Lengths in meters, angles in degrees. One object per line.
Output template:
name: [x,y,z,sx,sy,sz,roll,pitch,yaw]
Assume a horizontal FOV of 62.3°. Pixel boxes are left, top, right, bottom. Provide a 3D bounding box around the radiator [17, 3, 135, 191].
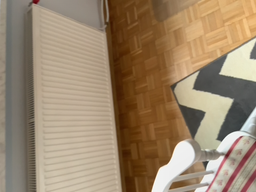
radiator: [-0.310,0.150,1.430,0.130,0.770,1.330,-16,75,38]
